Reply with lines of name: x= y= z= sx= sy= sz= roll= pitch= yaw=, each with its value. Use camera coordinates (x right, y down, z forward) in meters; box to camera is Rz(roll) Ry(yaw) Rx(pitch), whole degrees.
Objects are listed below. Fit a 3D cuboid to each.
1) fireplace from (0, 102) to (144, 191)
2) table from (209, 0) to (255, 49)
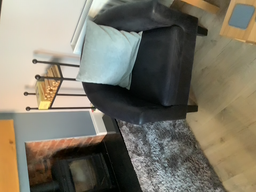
fireplace: x=-0.670 y=0.800 z=2.130 sx=0.780 sy=1.190 sz=1.240 roll=-53 pitch=49 yaw=39
table: x=0.660 y=-0.370 z=1.100 sx=0.270 sy=0.300 sz=0.220 roll=41 pitch=122 yaw=46
